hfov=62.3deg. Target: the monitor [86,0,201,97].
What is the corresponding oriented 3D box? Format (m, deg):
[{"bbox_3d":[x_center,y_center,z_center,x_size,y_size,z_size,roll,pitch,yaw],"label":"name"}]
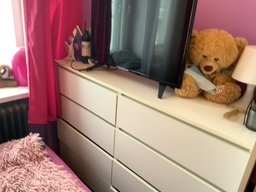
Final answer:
[{"bbox_3d":[0.010,-0.340,1.230,0.750,0.470,0.070,24,29,38],"label":"monitor"}]
